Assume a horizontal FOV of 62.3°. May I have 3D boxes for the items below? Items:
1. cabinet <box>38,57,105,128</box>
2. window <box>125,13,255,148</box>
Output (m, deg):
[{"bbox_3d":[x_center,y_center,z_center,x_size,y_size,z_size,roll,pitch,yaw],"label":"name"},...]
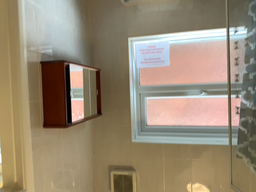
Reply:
[{"bbox_3d":[-0.330,-0.030,1.430,0.130,0.360,0.680,-2,-178,12],"label":"cabinet"},{"bbox_3d":[0.590,-0.100,1.710,1.160,0.950,0.330,-2,-178,9],"label":"window"}]
